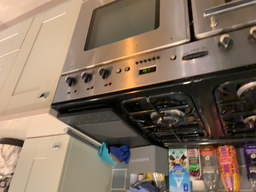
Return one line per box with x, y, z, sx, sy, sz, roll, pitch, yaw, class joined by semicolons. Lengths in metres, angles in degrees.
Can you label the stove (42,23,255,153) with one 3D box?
0.310;0.040;0.840;1.100;0.160;0.600;-10;147;24;stove
